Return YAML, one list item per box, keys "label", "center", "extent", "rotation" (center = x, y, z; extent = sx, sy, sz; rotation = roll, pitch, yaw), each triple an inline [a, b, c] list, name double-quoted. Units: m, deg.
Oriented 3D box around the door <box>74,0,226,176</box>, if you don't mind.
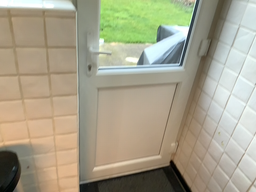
- label: "door"
  center: [0.120, -0.310, 1.150]
  extent: [0.790, 2.040, 0.040]
  rotation: [-4, 34, -18]
